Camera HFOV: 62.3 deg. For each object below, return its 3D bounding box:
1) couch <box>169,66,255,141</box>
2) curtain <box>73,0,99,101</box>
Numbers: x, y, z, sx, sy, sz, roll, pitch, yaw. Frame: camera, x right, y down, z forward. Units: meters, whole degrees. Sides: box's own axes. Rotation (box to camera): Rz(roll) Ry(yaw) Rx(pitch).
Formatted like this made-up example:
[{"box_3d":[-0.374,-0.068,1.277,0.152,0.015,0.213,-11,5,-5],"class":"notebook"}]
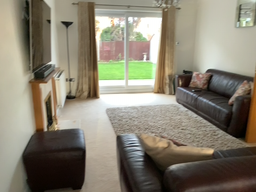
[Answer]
[{"box_3d":[1.650,-0.030,4.050,0.900,0.810,2.180,-3,15,-11],"class":"couch"},{"box_3d":[-0.980,-1.060,5.050,0.510,2.360,0.250,-2,15,-11],"class":"curtain"}]
